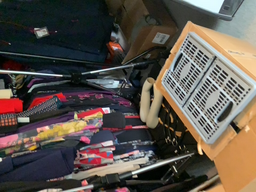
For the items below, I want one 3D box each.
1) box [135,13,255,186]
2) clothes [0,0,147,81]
[{"bbox_3d":[0.550,-0.020,1.220,0.720,0.620,0.520,57,134,41],"label":"box"},{"bbox_3d":[-0.700,-0.840,1.880,1.290,1.080,0.710,60,136,39],"label":"clothes"}]
